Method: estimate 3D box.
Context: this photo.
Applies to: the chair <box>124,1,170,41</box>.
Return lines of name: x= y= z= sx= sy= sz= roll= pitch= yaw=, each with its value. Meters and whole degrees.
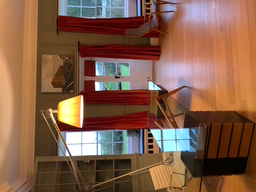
chair: x=0.450 y=-1.870 z=5.350 sx=0.450 sy=0.980 sz=0.800 roll=-98 pitch=11 yaw=-45
